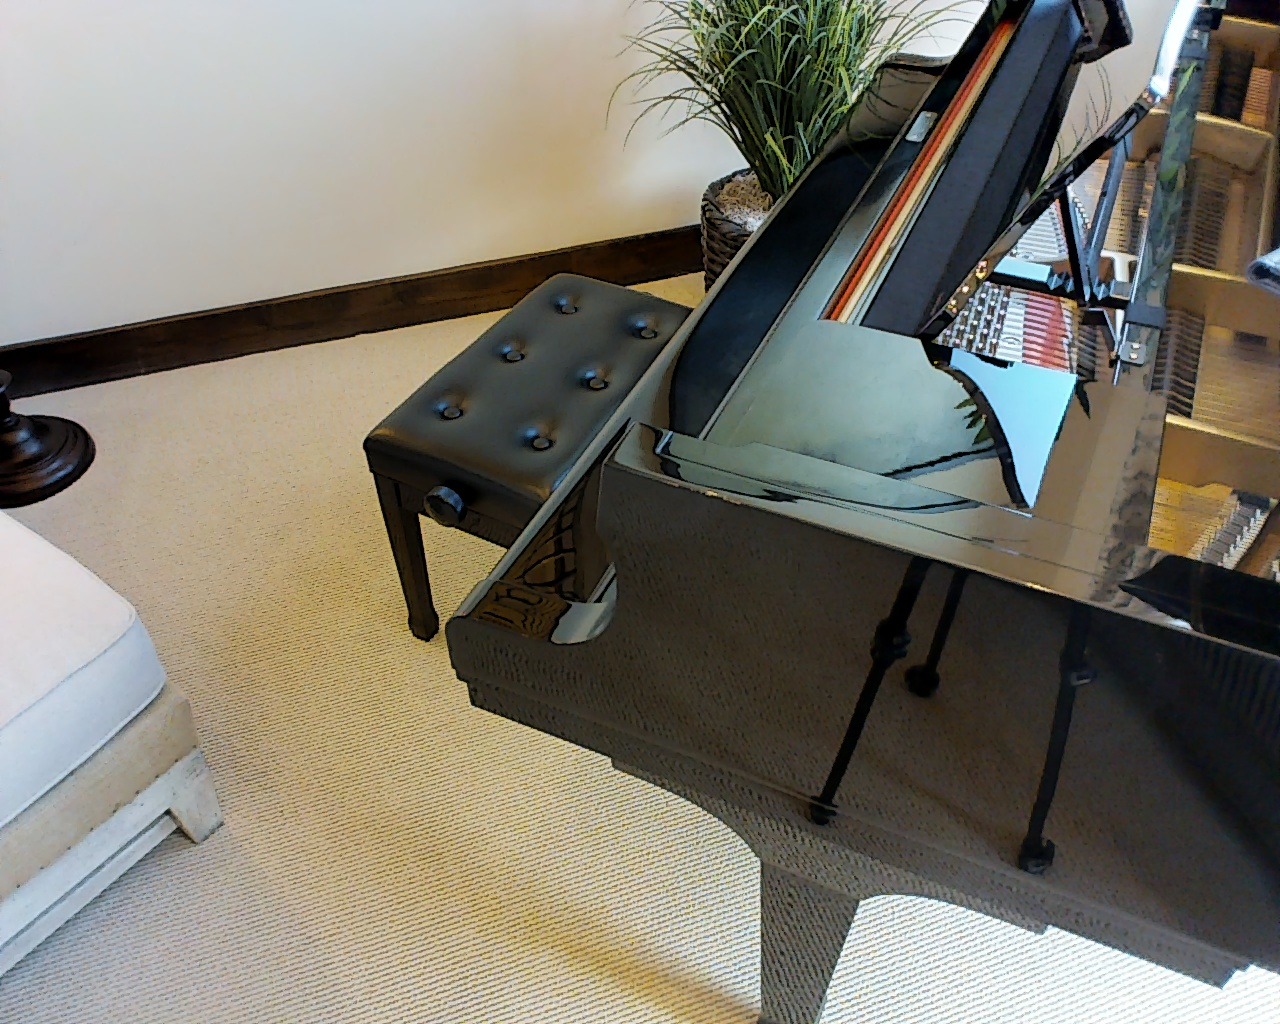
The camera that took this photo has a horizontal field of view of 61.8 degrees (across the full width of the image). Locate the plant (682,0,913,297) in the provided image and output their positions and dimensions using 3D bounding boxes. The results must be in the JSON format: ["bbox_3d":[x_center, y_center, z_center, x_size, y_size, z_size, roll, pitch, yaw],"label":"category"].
[{"bbox_3d":[0.270,-0.840,2.070,0.350,0.630,0.550,2,42,1],"label":"plant"}]
